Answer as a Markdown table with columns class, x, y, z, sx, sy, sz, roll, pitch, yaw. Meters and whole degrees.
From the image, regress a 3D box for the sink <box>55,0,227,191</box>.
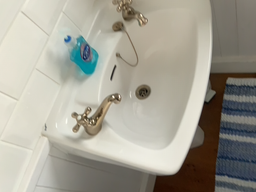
| class | x | y | z | sx | sy | sz | roll | pitch | yaw |
| --- | --- | --- | --- | --- | --- | --- | --- | --- | --- |
| sink | 0.070 | -0.040 | 0.680 | 0.370 | 0.200 | 0.530 | 7 | 69 | 31 |
